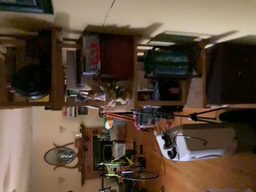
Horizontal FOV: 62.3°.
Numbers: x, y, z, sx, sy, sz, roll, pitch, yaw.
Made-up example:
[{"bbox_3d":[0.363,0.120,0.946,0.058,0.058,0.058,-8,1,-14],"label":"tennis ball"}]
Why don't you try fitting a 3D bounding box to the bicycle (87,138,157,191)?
[{"bbox_3d":[-0.240,1.390,4.350,1.760,1.030,0.710,178,93,-73],"label":"bicycle"}]
